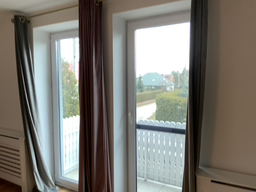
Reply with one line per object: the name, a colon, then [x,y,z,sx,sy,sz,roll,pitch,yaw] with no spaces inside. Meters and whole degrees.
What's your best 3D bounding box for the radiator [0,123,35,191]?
radiator: [-1.840,0.860,3.120,1.200,0.850,0.180,3,6,31]
